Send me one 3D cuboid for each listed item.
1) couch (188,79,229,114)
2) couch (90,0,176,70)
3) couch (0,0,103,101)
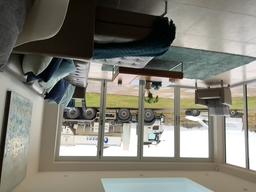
[{"bbox_3d":[2.120,0.050,5.590,0.800,0.800,0.800,-3,170,38],"label":"couch"},{"bbox_3d":[-0.020,-0.660,2.420,0.710,0.410,1.030,5,172,-14],"label":"couch"},{"bbox_3d":[-1.010,-0.460,3.070,0.870,0.740,2.980,5,172,-14],"label":"couch"}]
